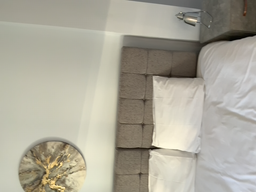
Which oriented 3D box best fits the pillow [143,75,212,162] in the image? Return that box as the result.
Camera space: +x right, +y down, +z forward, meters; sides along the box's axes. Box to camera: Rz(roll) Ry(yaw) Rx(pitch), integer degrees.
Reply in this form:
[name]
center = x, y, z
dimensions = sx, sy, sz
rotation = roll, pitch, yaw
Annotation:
[pillow]
center = 0.420, 0.180, 1.860
dimensions = 0.140, 0.490, 0.680
rotation = -15, -69, -78
